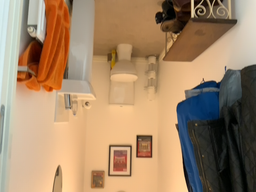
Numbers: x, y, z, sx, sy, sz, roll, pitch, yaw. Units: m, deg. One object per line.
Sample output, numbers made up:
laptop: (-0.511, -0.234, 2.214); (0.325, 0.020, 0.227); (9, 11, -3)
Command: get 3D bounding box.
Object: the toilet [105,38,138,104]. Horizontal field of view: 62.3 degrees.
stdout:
toilet: (-0.100, -0.300, 2.920); (0.380, 0.770, 0.670); (1, 174, -4)
